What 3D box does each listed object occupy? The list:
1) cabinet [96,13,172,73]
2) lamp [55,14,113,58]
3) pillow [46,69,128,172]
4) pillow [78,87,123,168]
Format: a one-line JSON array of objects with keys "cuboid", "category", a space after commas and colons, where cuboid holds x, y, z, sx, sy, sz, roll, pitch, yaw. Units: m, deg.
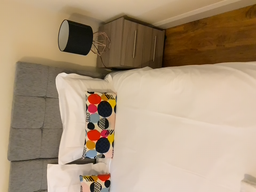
[{"cuboid": [0.050, -0.460, 2.020, 0.450, 0.530, 0.400, 6, 92, 55], "category": "cabinet"}, {"cuboid": [-0.380, -0.490, 1.820, 0.250, 0.400, 0.260, 10, 95, 54], "category": "lamp"}, {"cuboid": [-0.350, 0.220, 1.850, 0.210, 0.600, 0.820, -173, 88, -76], "category": "pillow"}, {"cuboid": [-0.230, 0.250, 1.750, 0.170, 0.280, 0.620, -175, 90, -69], "category": "pillow"}]
